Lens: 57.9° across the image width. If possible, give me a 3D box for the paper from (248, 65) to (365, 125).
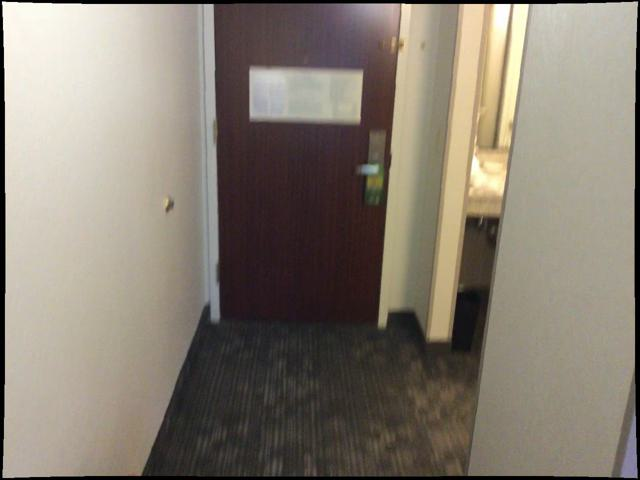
[{"bbox_3d":[-0.070,-0.721,2.880,0.559,0.250,0.040,3,18,-5],"label":"paper"}]
